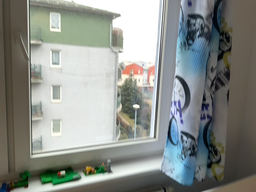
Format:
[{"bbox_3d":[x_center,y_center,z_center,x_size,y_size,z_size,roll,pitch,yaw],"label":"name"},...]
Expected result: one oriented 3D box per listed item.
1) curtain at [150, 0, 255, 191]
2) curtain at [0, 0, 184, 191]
[{"bbox_3d":[0.460,-0.290,1.290,0.390,1.660,0.400,-1,10,-25],"label":"curtain"},{"bbox_3d":[-0.320,-0.400,1.100,1.380,1.750,0.220,-2,10,-29],"label":"curtain"}]
